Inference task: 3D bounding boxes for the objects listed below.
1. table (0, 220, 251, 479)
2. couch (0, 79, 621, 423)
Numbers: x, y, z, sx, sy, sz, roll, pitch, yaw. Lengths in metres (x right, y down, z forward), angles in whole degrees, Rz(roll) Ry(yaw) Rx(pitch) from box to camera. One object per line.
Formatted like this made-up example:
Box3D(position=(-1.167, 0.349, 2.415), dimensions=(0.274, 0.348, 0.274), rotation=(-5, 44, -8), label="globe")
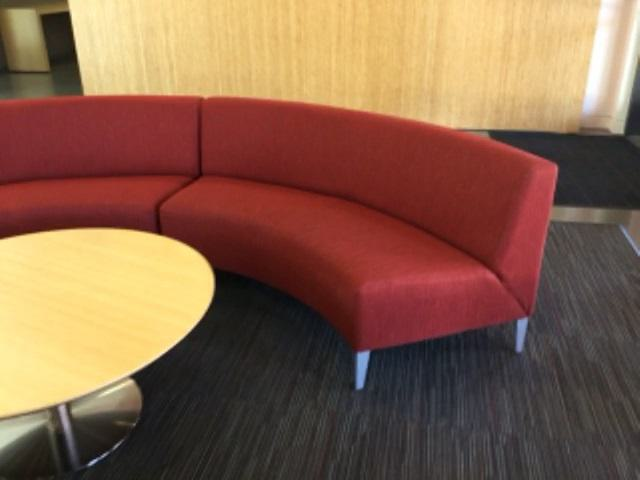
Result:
Box3D(position=(-0.810, 0.370, 1.830), dimensions=(0.990, 0.490, 1.030), rotation=(1, 25, 3), label="table")
Box3D(position=(-0.590, -0.150, 2.520), dimensions=(3.040, 0.800, 1.330), rotation=(4, 26, 9), label="couch")
